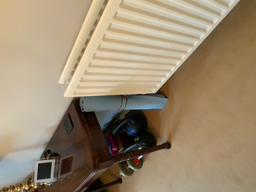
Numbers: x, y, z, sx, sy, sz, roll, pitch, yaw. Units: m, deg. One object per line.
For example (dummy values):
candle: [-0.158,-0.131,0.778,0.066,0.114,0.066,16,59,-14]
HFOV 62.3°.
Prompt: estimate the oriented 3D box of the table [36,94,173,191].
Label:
table: [-0.240,0.440,1.720,0.880,0.680,0.450,-50,56,39]
